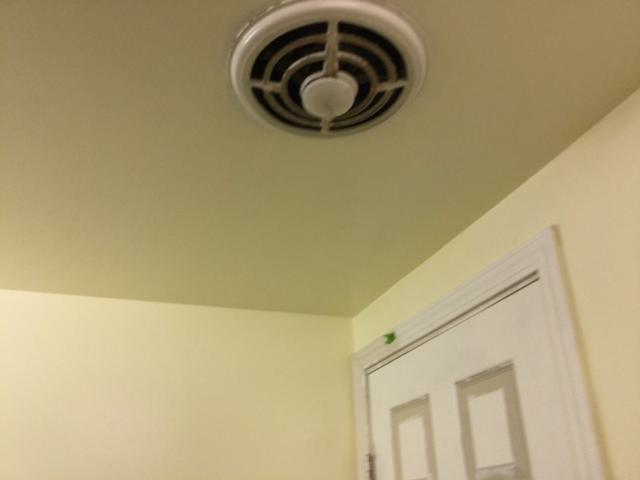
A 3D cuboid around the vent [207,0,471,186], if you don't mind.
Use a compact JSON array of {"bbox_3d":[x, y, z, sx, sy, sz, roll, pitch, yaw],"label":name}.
[{"bbox_3d":[0.010,-0.210,0.800,0.280,0.110,0.250,8,-30,-20],"label":"vent"}]
